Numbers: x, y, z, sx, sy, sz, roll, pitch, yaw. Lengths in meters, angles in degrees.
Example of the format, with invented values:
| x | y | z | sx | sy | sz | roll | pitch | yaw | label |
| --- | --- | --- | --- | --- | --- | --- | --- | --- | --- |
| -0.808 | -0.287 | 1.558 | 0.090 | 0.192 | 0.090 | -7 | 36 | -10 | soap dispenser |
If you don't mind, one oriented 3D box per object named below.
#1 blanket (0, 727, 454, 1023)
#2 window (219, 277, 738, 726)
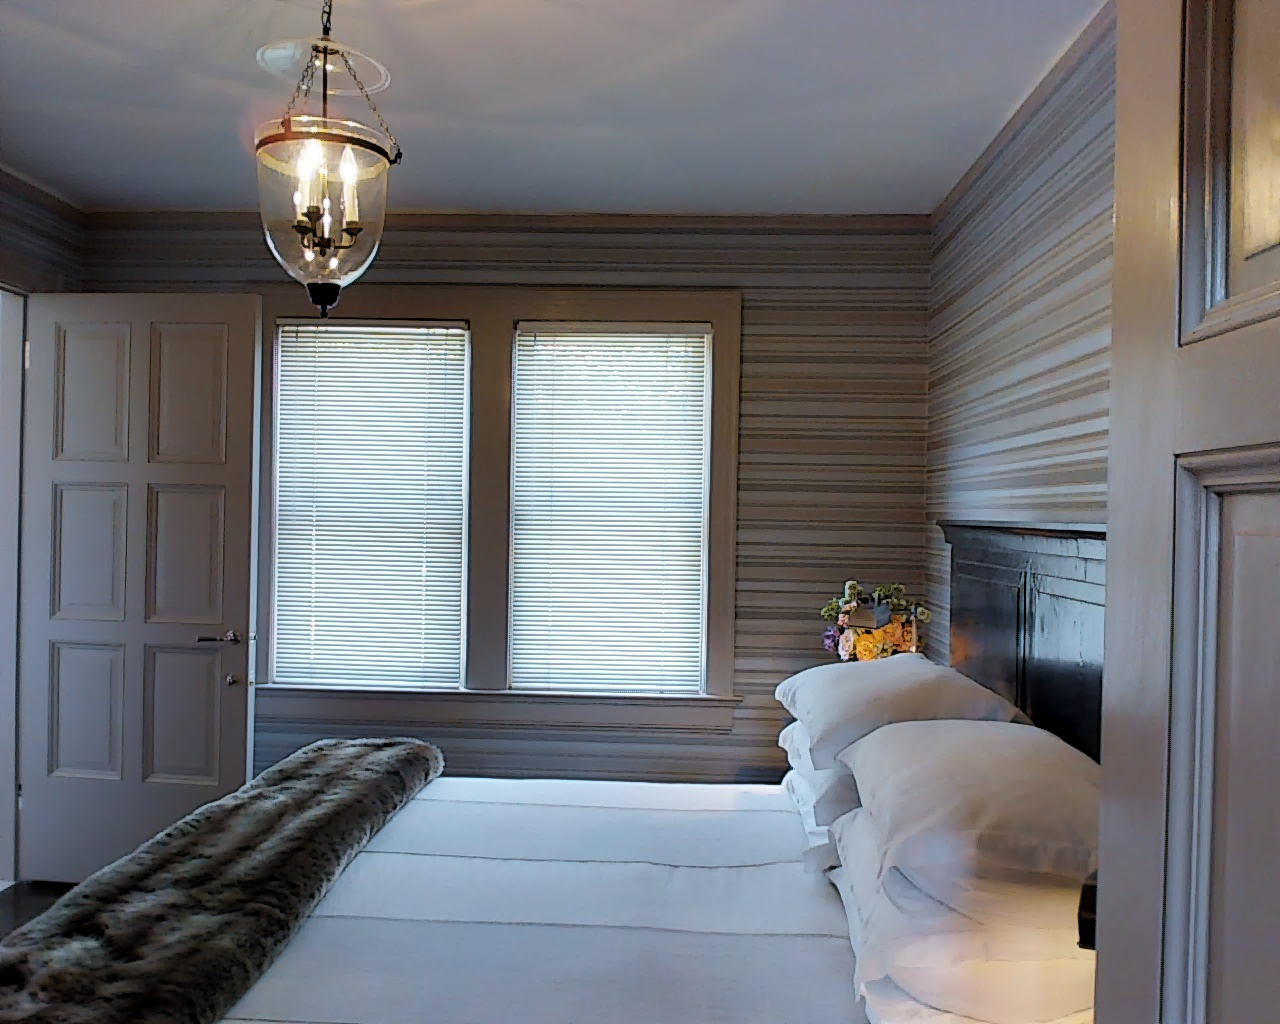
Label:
| x | y | z | sx | sy | sz | roll | pitch | yaw | label |
| --- | --- | --- | --- | --- | --- | --- | --- | --- | --- |
| -0.810 | 0.710 | 2.220 | 0.460 | 0.140 | 1.860 | 1 | 0 | 2 | blanket |
| -0.660 | -0.050 | 4.400 | 2.090 | 1.790 | 0.140 | 1 | 0 | 2 | window |
